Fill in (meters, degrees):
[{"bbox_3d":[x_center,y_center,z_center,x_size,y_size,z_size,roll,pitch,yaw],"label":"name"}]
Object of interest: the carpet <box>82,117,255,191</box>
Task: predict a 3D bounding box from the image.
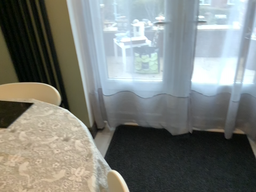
[{"bbox_3d":[0.370,0.490,1.710,1.210,0.040,0.870,4,30,12],"label":"carpet"}]
